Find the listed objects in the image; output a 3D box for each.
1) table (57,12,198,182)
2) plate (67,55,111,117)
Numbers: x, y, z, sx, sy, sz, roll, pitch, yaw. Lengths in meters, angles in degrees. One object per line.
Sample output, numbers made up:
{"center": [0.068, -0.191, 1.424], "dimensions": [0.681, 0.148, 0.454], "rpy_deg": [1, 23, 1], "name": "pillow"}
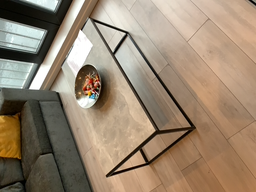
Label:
{"center": [-0.080, -0.030, 1.600], "dimensions": [0.530, 0.420, 1.070], "rpy_deg": [-49, 57, 31], "name": "table"}
{"center": [-0.290, -0.080, 1.490], "dimensions": [0.370, 0.040, 0.310], "rpy_deg": [36, 112, 39], "name": "plate"}
